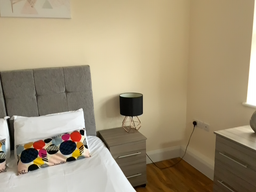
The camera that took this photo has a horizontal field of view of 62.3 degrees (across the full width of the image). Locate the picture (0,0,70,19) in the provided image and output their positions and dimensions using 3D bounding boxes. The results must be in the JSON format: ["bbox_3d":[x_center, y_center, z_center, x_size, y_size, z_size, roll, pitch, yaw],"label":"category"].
[{"bbox_3d":[-0.860,-0.890,1.850,0.660,0.380,0.040,-6,12,-20],"label":"picture"}]

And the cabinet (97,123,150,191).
[{"bbox_3d":[-0.060,0.650,2.270,0.430,0.550,0.430,-6,12,-21],"label":"cabinet"}]
